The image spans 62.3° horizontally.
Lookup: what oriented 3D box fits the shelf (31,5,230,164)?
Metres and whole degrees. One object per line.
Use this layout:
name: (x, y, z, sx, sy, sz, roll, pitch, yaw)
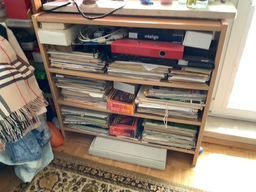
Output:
shelf: (0.000, -0.050, 1.250, 0.890, 0.830, 0.240, 7, 35, 12)
